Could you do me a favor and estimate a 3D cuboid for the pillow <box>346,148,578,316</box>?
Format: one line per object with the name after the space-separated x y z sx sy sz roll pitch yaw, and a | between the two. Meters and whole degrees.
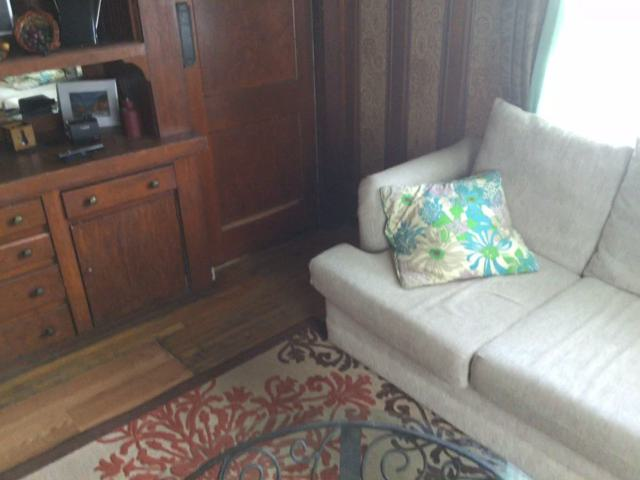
0.470 -0.070 2.090 0.500 0.360 0.610 -8 25 -25 | pillow

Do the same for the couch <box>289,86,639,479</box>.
0.920 0.230 1.700 0.900 1.020 2.100 -16 29 -38 | couch

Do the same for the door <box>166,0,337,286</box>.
-0.290 -0.820 2.680 0.800 1.980 0.190 -17 30 -40 | door
